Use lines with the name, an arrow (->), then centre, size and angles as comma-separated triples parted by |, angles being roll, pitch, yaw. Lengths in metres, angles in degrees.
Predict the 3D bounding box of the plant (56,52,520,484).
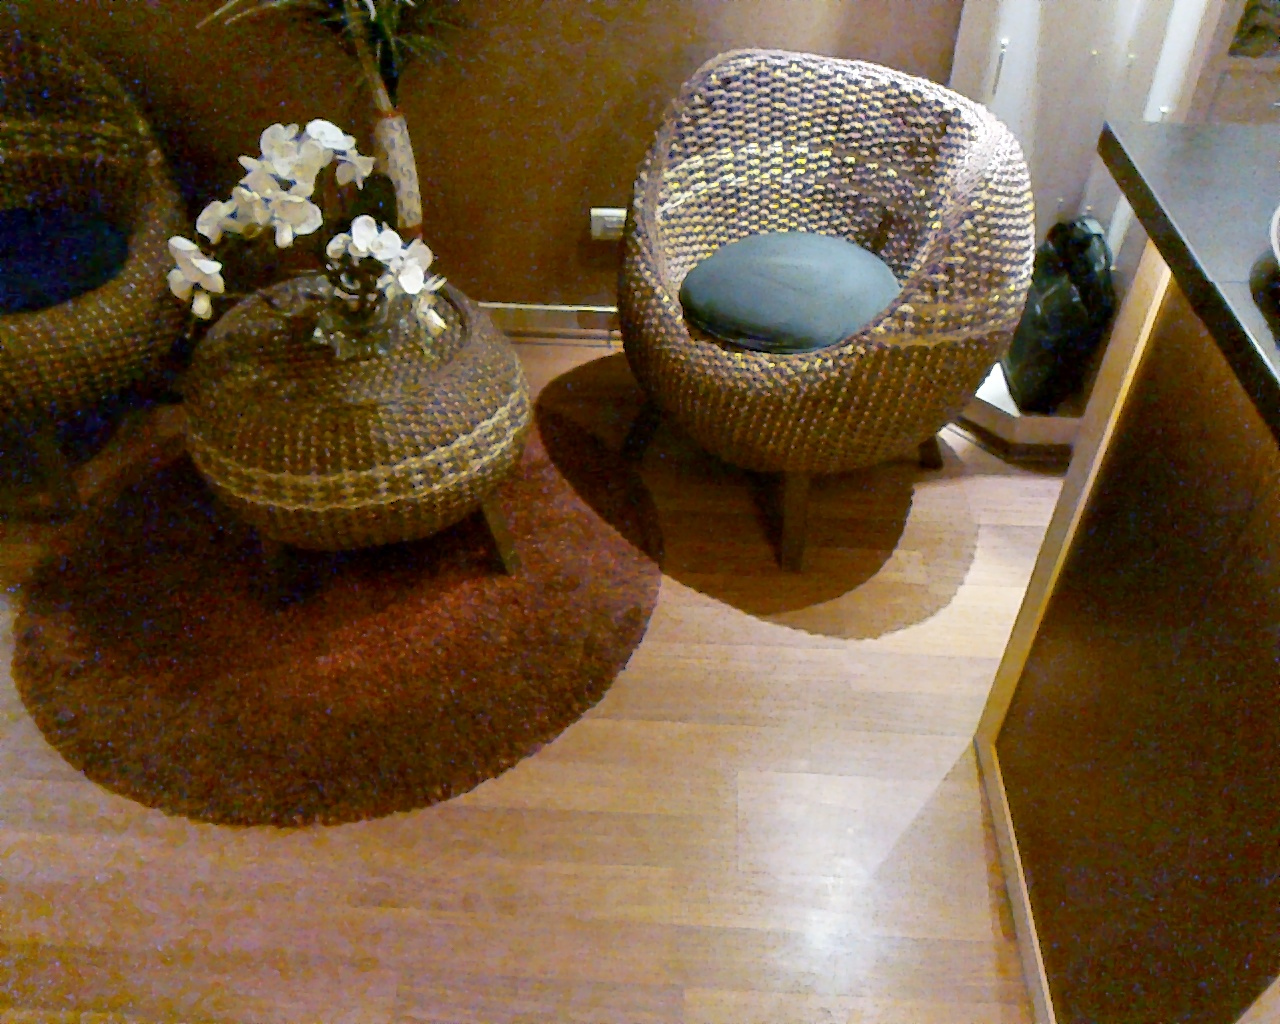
plant -> -0.590, -0.440, 1.850 | 0.610, 0.440, 0.490 | -16, 45, -17

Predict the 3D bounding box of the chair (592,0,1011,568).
chair -> 0.280, -0.520, 2.330 | 0.660, 0.830, 0.940 | 2, 42, 2

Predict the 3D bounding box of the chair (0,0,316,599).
chair -> -1.410, -0.540, 2.360 | 0.780, 0.860, 0.930 | 20, 46, 20
